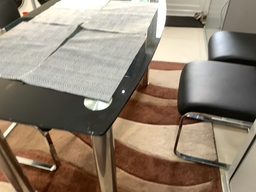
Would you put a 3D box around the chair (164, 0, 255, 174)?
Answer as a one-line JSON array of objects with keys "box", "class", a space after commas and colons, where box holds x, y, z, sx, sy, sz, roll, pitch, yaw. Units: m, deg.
[{"box": [0.560, -0.090, 1.100, 0.600, 0.950, 0.440, 8, 40, 9], "class": "chair"}]
